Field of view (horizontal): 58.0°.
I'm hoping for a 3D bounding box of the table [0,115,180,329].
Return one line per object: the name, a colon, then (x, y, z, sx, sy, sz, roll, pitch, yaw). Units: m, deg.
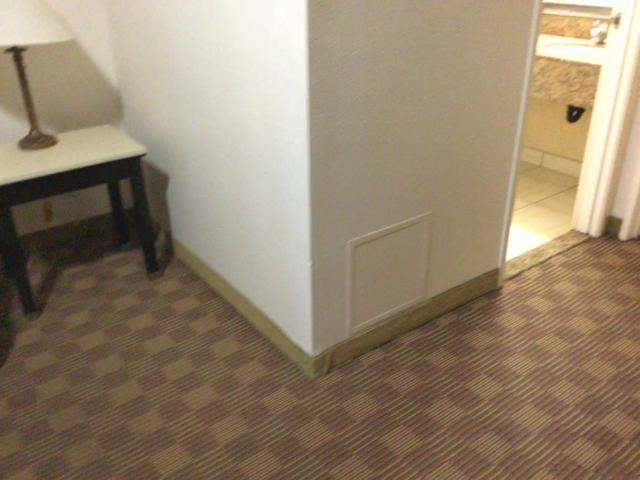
table: (-1.100, -0.130, 2.530, 0.680, 0.610, 0.640, -19, 31, -32)
